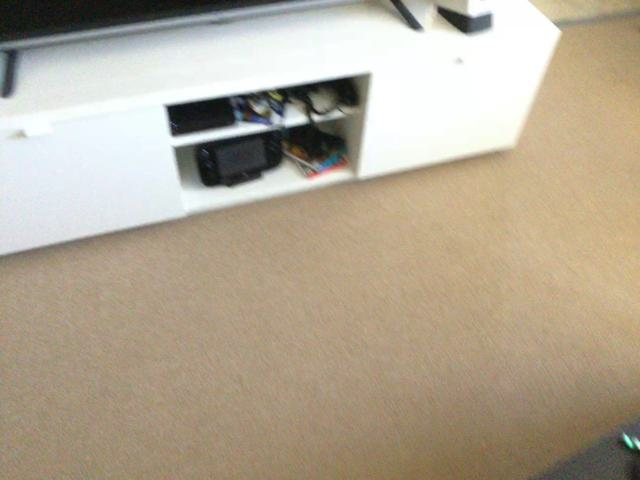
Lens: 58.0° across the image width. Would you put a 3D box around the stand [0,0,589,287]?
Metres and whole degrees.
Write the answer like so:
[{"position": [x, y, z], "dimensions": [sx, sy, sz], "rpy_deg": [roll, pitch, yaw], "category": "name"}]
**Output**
[{"position": [-0.180, -0.400, 1.610], "dimensions": [1.630, 0.500, 0.470], "rpy_deg": [-15, 52, -11], "category": "stand"}]
